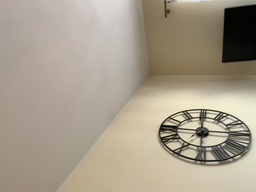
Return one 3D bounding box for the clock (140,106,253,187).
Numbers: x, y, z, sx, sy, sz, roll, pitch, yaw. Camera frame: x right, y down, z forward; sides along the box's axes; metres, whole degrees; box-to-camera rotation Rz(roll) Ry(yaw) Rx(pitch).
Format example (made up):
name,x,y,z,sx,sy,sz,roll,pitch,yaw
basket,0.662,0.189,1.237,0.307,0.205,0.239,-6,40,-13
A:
name,x,y,z,sx,sy,sz,roll,pitch,yaw
clock,0.470,0.280,1.450,0.590,0.610,0.090,-53,-40,-53
